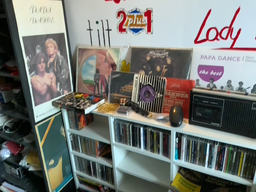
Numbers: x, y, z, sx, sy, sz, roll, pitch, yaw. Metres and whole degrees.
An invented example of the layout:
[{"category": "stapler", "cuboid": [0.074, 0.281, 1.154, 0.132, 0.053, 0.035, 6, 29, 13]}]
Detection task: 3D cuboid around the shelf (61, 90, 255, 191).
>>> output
[{"category": "shelf", "cuboid": [0.110, 0.480, 1.240, 1.010, 0.890, 0.190, 10, 25, 28]}]
